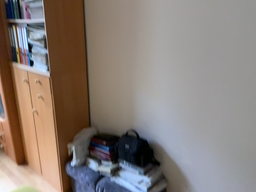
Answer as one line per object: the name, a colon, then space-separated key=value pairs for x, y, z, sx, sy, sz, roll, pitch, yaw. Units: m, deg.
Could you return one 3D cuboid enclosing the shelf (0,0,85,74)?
shelf: x=-0.750 y=-0.790 z=1.630 sx=0.740 sy=1.110 sz=0.340 roll=13 pitch=22 yaw=34
